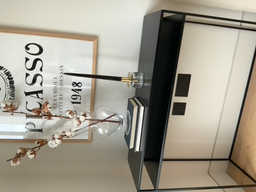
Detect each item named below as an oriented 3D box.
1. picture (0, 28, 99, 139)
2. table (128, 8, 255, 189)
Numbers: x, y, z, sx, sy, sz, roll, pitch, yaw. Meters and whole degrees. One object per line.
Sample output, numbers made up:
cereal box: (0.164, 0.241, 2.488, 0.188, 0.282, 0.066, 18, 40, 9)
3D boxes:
picture: (-0.580, -0.050, 1.140, 0.030, 0.800, 0.590, -128, 43, -73)
table: (0.430, 0.040, 1.210, 0.300, 0.730, 0.890, -122, 37, -71)
